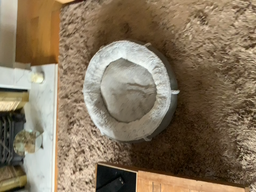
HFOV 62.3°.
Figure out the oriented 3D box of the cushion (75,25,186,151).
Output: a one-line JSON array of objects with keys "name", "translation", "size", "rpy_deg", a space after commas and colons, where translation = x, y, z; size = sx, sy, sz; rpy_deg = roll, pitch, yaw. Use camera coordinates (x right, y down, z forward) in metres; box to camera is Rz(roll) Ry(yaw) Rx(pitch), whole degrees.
[{"name": "cushion", "translation": [-0.020, -0.030, 1.380], "size": [0.720, 0.150, 0.680], "rpy_deg": [-3, 87, 29]}]
